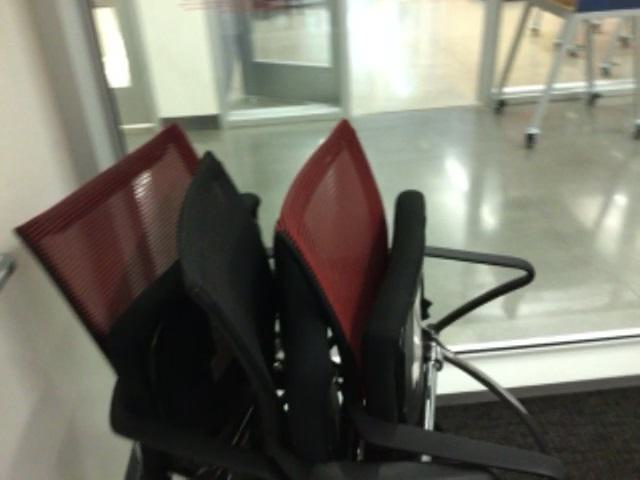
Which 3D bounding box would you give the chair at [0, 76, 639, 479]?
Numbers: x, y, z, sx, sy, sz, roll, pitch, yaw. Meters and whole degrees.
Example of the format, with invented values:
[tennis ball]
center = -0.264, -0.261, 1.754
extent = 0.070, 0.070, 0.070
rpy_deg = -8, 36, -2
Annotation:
[chair]
center = 0.020, 0.190, 1.100
extent = 0.900, 0.760, 0.650
rpy_deg = -5, 27, 6
